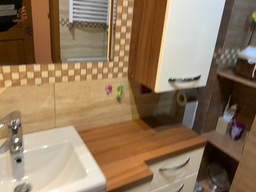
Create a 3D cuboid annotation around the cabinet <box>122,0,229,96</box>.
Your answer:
[{"bbox_3d":[0.220,-0.430,0.920,0.340,0.780,0.260,-8,26,-31],"label":"cabinet"}]

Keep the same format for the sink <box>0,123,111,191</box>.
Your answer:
[{"bbox_3d":[-0.390,0.300,0.760,0.530,0.140,0.390,-8,26,-31],"label":"sink"}]
